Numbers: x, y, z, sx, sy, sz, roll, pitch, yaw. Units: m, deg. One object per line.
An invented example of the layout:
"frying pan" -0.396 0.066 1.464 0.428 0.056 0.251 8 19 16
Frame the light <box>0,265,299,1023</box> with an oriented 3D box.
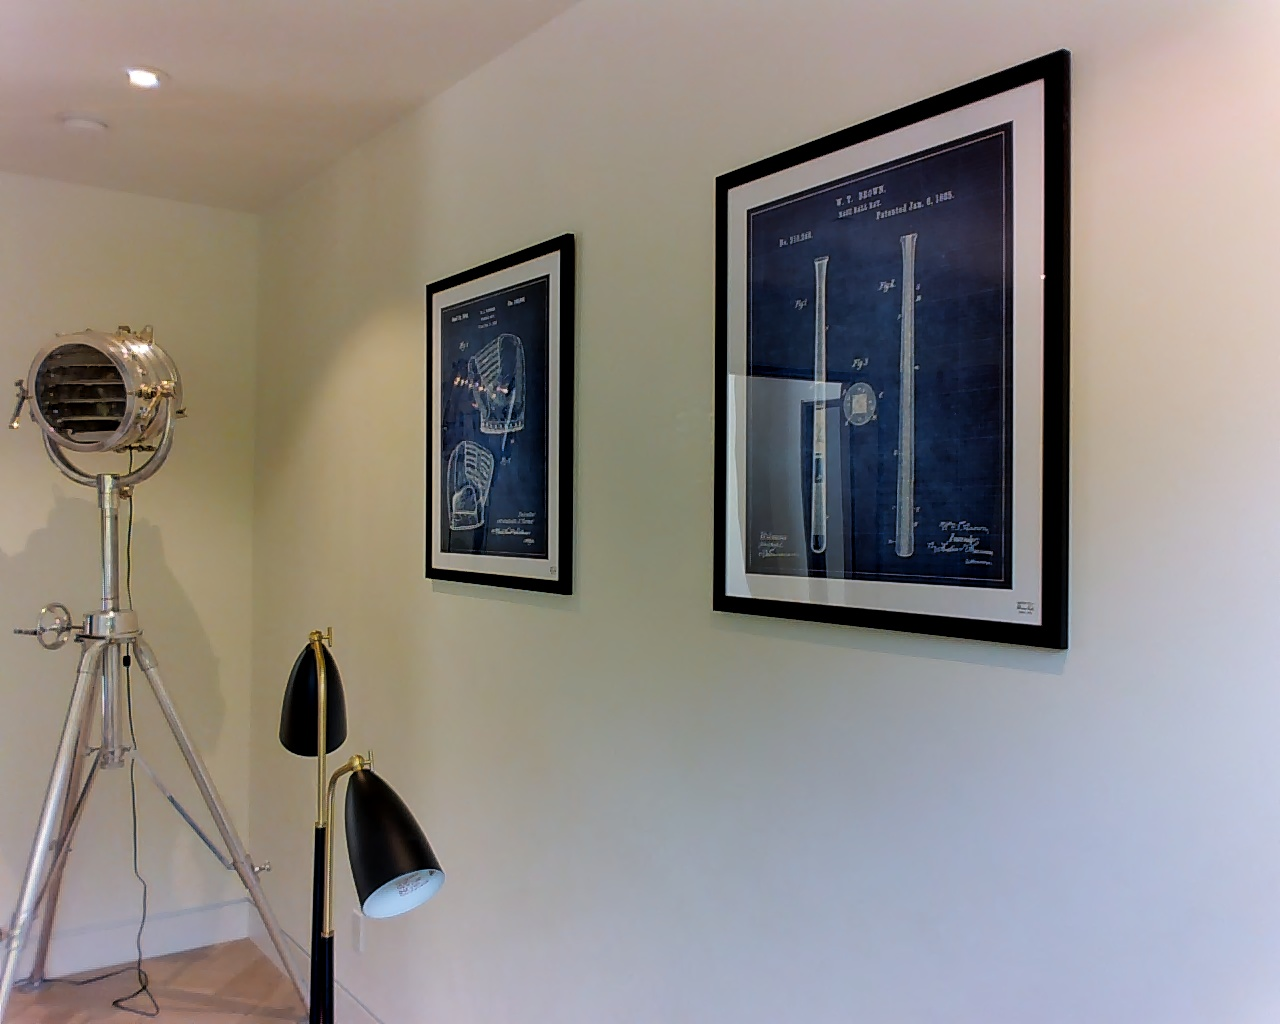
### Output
"light" -1.600 0.460 3.210 0.600 2.150 0.900 1 0 30
